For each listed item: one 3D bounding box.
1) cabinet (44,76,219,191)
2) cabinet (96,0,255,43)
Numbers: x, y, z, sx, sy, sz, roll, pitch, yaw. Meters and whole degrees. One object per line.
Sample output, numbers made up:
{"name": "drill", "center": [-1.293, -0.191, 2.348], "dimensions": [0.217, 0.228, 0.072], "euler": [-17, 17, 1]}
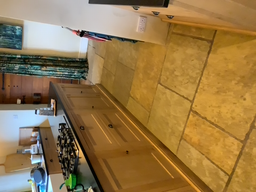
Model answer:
{"name": "cabinet", "center": [-0.210, 0.690, 2.450], "dimensions": [3.720, 0.920, 0.700], "euler": [40, 123, 54]}
{"name": "cabinet", "center": [0.420, -0.820, 1.530], "dimensions": [1.140, 0.880, 0.600], "euler": [40, 123, 54]}
